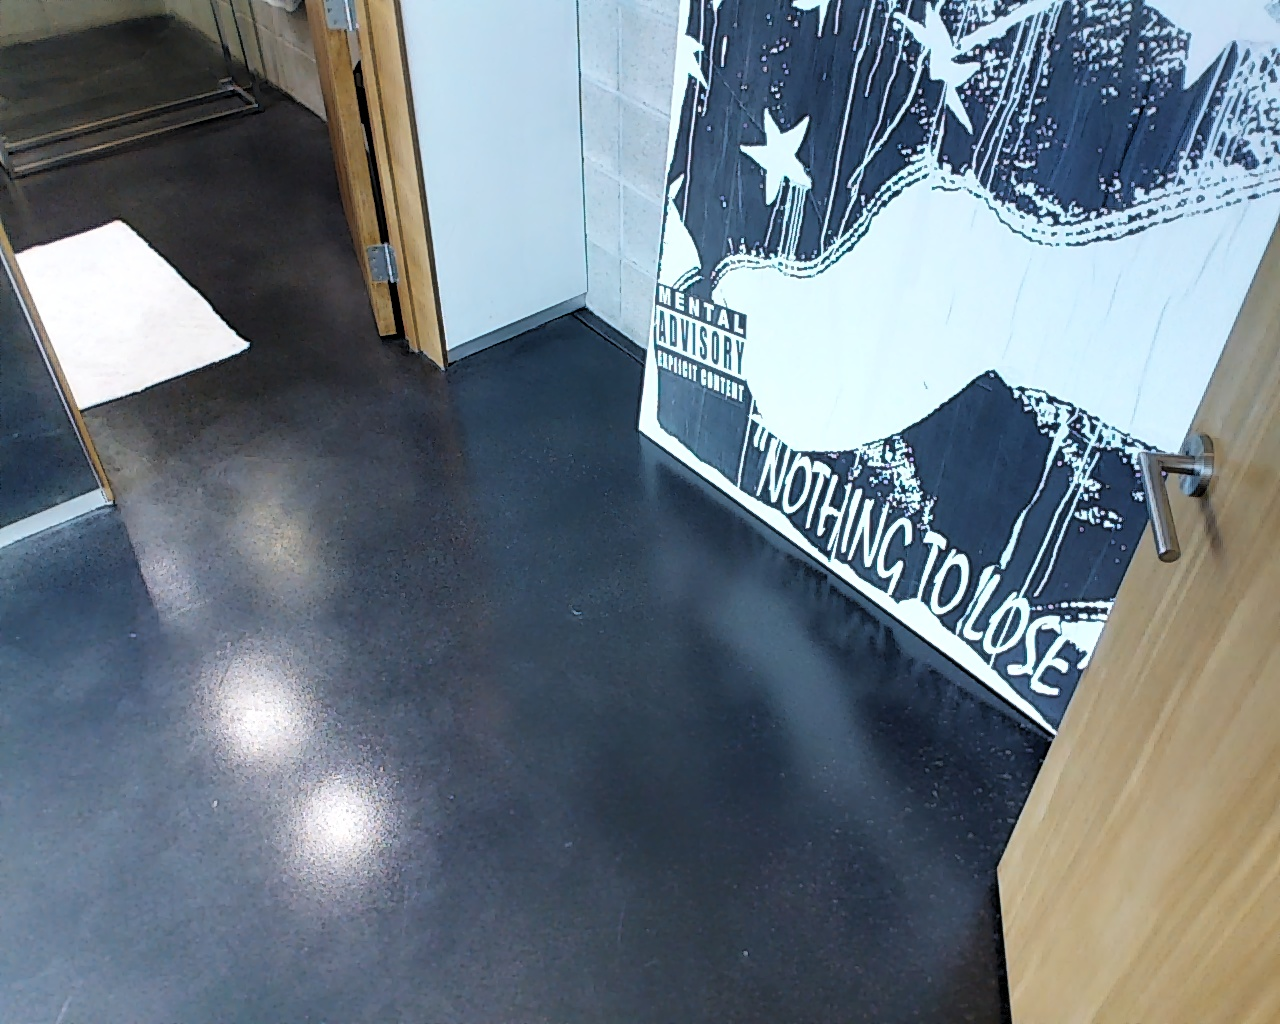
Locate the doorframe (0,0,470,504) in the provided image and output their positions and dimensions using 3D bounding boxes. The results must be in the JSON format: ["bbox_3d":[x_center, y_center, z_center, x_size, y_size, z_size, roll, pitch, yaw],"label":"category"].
[{"bbox_3d":[-0.920,-1.200,1.870,0.930,2.430,0.360,-27,49,-27],"label":"doorframe"}]
